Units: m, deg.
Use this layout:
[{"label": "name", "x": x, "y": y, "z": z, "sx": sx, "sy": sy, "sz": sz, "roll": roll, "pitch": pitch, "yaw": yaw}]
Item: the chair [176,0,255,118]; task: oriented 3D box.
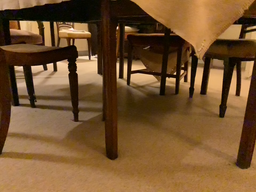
[{"label": "chair", "x": 0.740, "y": -0.360, "z": 1.460, "sx": 0.550, "sy": 0.840, "sz": 0.570, "roll": -2, "pitch": 18, "yaw": -10}]

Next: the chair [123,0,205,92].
[{"label": "chair", "x": 0.340, "y": -0.590, "z": 2.000, "sx": 0.530, "sy": 0.920, "sz": 0.560, "roll": 12, "pitch": 20, "yaw": 31}]
